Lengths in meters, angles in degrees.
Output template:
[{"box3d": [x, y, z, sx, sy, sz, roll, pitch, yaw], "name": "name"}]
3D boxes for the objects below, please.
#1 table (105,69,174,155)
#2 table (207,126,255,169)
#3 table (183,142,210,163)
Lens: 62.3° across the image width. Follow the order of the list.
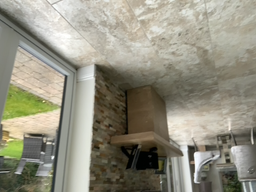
[{"box3d": [0.210, 0.300, 2.700, 0.400, 0.720, 1.250, -10, 155, 22], "name": "table"}, {"box3d": [2.930, 1.190, 4.840, 1.970, 0.770, 1.000, -10, 155, 21], "name": "table"}, {"box3d": [2.040, 1.700, 6.320, 0.630, 0.510, 0.610, -10, 155, 21], "name": "table"}]
